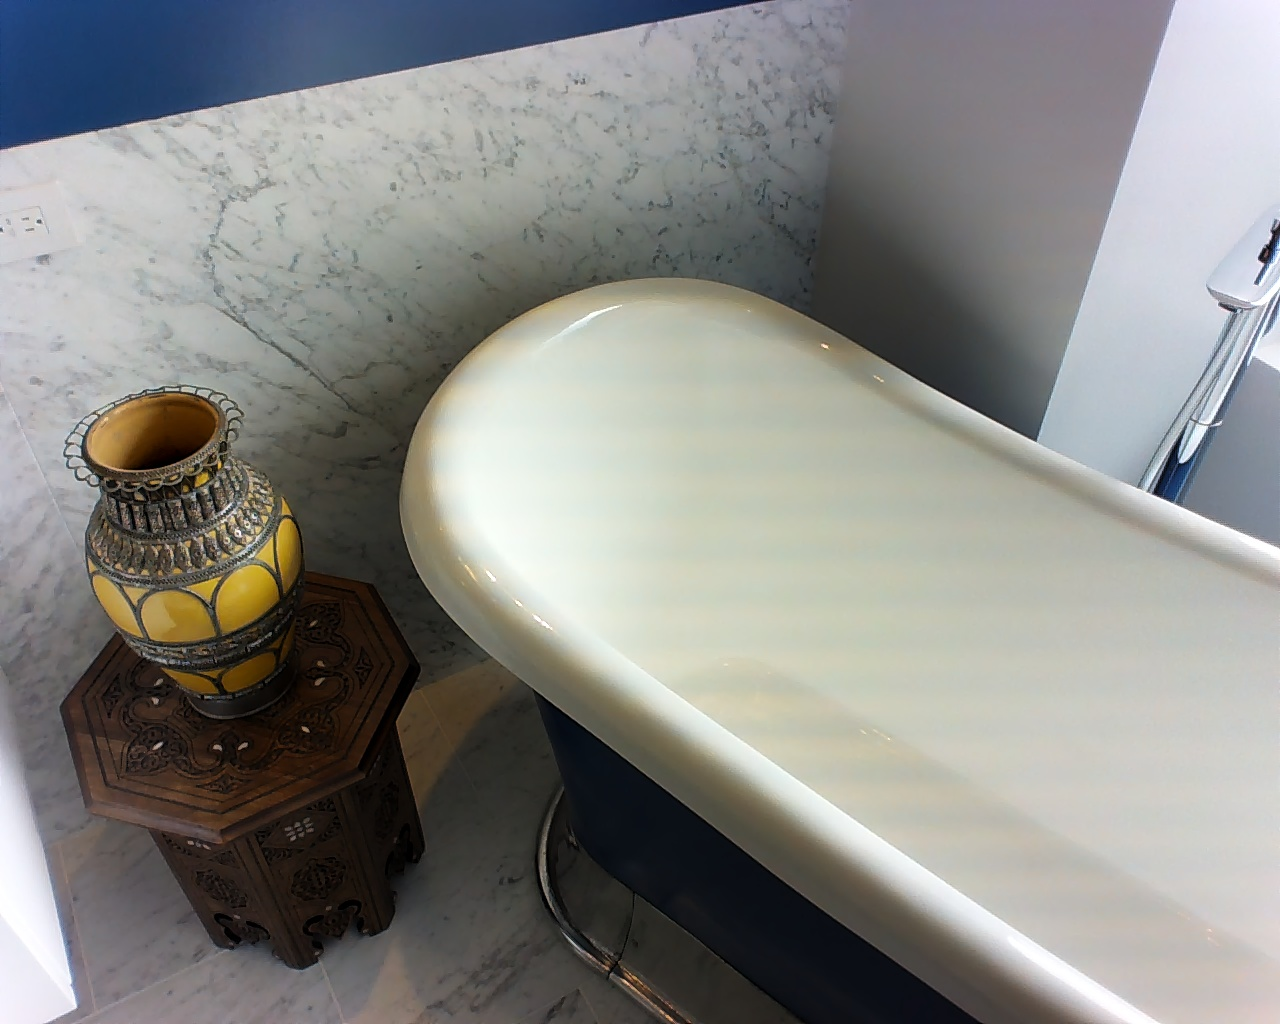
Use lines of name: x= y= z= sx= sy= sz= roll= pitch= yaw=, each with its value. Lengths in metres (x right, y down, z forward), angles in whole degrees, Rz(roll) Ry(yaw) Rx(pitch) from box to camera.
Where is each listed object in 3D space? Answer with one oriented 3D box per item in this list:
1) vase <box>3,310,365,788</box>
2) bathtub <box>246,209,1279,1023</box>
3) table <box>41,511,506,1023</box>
vase: x=-0.530 y=0.040 z=1.280 sx=0.240 sy=0.400 sz=0.330 roll=-21 pitch=46 yaw=-23
bathtub: x=0.420 y=0.390 z=1.270 sx=1.610 sy=0.810 sz=0.730 roll=29 pitch=49 yaw=28
table: x=-0.500 y=0.370 z=1.530 sx=0.440 sy=0.460 sz=0.440 roll=-21 pitch=46 yaw=-23
